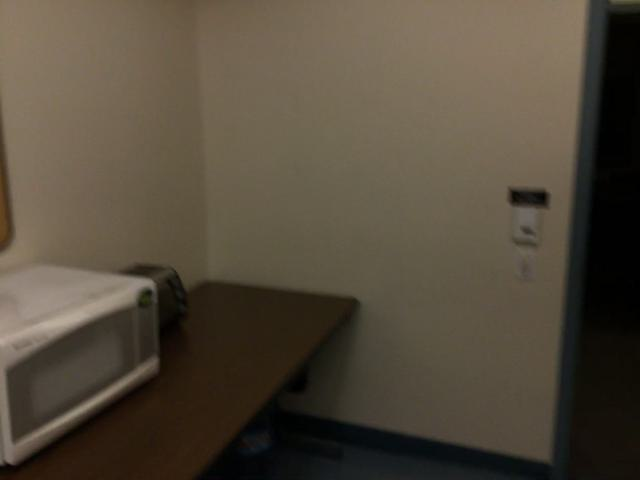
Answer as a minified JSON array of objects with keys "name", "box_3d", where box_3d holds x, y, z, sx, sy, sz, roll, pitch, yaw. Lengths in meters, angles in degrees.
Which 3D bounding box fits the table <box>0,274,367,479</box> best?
[{"name":"table","box_3d":[-0.410,0.680,1.910,0.750,0.720,1.470,5,13,19]}]
